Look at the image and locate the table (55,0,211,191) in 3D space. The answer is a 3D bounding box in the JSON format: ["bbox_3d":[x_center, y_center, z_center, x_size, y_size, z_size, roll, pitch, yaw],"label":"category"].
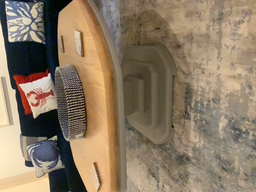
[{"bbox_3d":[-0.080,0.000,1.250,0.980,0.440,0.990,23,118,61],"label":"table"}]

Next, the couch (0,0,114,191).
[{"bbox_3d":[-0.800,-0.080,2.310,1.120,0.830,2.250,24,119,61],"label":"couch"}]
